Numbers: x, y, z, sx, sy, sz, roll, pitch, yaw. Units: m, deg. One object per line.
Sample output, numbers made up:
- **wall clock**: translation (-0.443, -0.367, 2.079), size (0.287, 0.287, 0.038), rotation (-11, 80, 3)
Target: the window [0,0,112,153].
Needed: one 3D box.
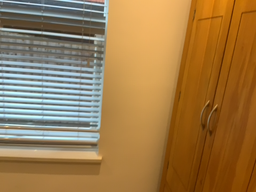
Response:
- **window**: translation (-0.700, -0.290, 1.470), size (1.100, 1.450, 0.050), rotation (5, 15, -8)
